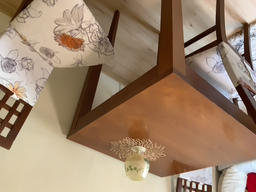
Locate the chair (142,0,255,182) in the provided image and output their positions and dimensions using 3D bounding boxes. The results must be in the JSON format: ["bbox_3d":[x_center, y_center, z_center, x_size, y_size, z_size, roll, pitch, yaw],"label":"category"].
[{"bbox_3d":[0.480,-0.070,1.260,0.470,0.930,0.570,30,138,-28],"label":"chair"}]
